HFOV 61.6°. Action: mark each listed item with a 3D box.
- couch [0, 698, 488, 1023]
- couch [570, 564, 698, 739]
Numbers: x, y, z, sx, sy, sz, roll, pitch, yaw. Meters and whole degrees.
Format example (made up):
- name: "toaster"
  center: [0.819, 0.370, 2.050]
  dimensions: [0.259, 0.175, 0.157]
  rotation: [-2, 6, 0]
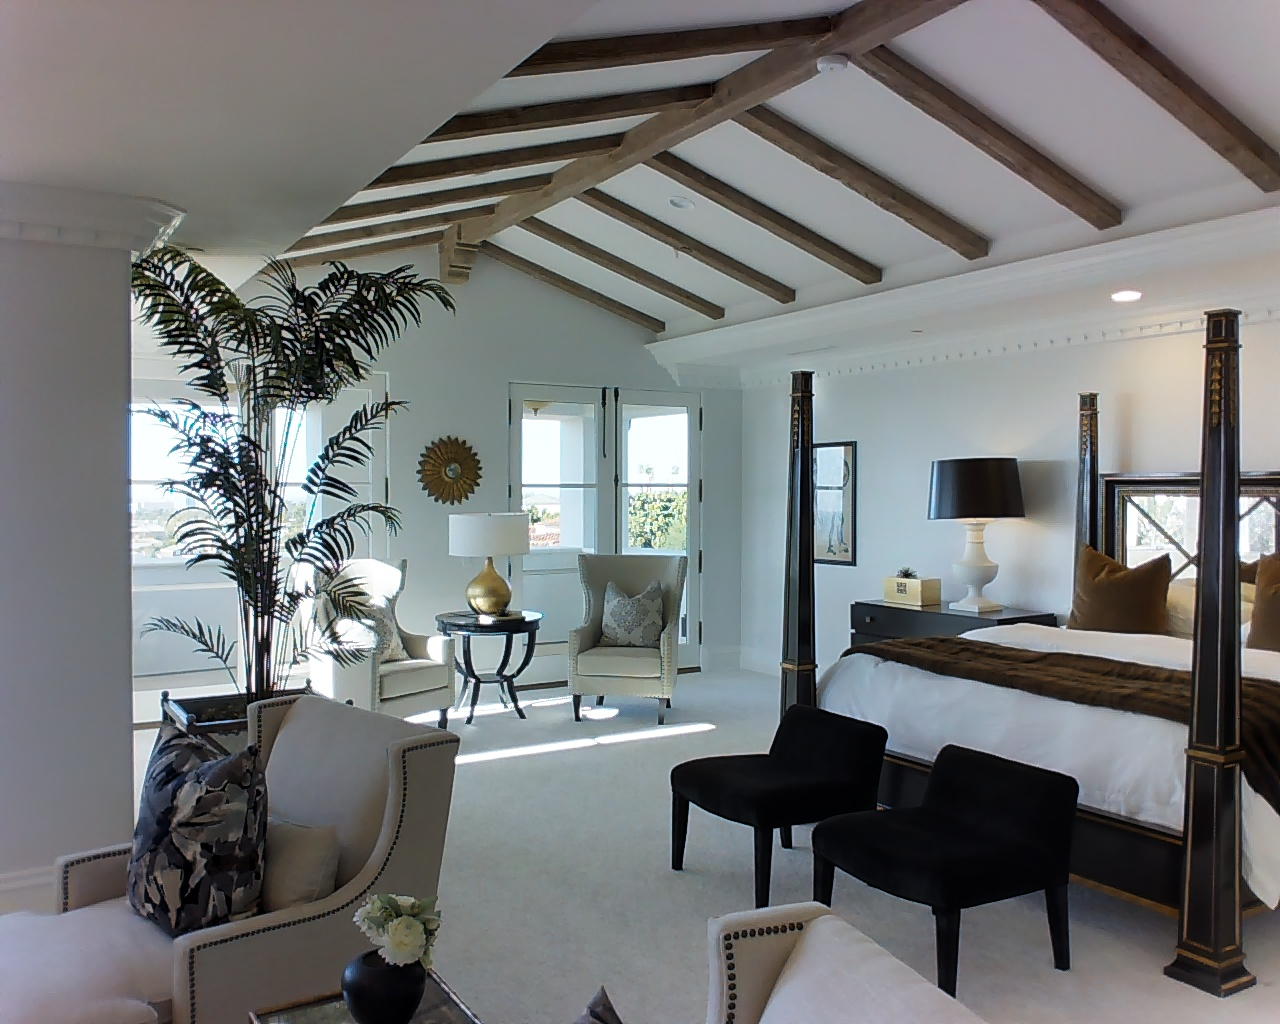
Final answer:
- name: "couch"
  center: [-1.300, 1.100, 2.660]
  dimensions: [0.890, 0.950, 1.630]
  rotation: [0, 1, 43]
- name: "couch"
  center: [-0.020, 0.970, 7.770]
  dimensions: [0.790, 1.130, 0.860]
  rotation: [0, 1, 9]
